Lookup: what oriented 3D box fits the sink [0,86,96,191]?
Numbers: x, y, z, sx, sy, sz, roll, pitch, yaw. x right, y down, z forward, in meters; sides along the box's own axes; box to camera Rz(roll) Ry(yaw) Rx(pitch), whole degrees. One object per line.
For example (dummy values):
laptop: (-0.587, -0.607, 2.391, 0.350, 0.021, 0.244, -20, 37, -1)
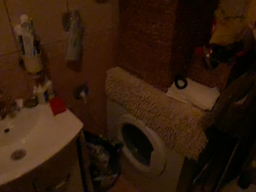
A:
sink: (-0.450, 0.180, 0.870, 0.500, 0.140, 0.380, -26, 44, -34)
